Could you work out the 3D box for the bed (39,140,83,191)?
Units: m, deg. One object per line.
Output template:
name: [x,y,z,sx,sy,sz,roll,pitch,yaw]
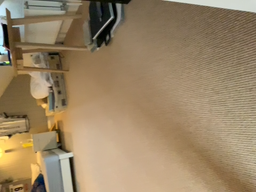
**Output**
bed: [-1.410,1.720,4.310,2.020,0.500,1.360,-12,86,64]
